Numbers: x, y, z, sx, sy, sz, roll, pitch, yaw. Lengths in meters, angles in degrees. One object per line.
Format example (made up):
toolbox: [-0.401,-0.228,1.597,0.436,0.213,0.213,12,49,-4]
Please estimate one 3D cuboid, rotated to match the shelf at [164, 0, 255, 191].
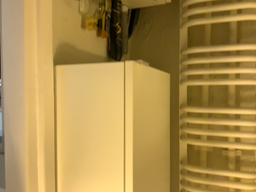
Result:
shelf: [0.340,0.100,0.790,0.380,1.170,0.150,1,-177,23]
